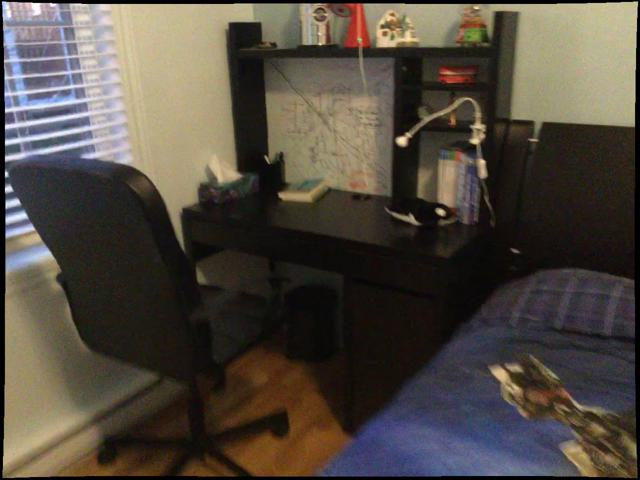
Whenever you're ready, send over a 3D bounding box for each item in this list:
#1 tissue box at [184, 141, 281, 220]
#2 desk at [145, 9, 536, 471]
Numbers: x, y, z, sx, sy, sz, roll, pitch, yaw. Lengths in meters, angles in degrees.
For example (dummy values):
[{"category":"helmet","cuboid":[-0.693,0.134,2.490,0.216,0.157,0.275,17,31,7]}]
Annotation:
[{"category":"tissue box","cuboid":[-0.330,-0.240,2.250,0.180,0.210,0.340,12,25,31]},{"category":"desk","cuboid":[0.060,-0.090,2.070,1.099,1.341,0.570,12,25,31]}]
